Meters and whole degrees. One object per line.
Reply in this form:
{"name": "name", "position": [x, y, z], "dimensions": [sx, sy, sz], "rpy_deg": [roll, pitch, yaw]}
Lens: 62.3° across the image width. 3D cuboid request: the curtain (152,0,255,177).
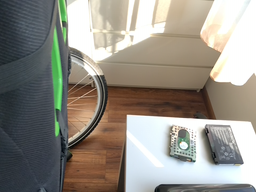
{"name": "curtain", "position": [0.520, -0.520, 0.490], "dimensions": [0.420, 2.430, 0.570], "rpy_deg": [4, 51, -4]}
